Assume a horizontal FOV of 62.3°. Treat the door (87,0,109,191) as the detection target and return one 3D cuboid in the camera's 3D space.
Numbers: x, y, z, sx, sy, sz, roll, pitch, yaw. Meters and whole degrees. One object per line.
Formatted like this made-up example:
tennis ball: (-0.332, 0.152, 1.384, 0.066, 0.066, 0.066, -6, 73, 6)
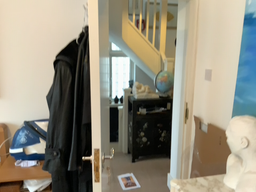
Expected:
door: (-0.170, 0.300, 1.400, 0.070, 1.940, 0.730, 0, 12, -4)
